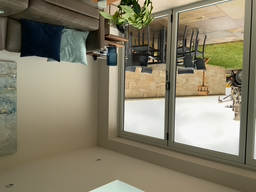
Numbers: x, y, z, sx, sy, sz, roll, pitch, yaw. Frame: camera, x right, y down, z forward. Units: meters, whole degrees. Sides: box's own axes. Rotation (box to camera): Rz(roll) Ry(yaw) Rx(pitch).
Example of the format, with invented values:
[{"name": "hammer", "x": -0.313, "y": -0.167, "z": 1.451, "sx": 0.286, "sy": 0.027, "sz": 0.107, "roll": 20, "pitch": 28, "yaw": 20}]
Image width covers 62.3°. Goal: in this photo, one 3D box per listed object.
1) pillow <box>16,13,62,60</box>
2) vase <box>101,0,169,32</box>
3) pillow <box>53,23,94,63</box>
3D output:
[{"name": "pillow", "x": -1.100, "y": -0.740, "z": 2.640, "sx": 0.260, "sy": 0.490, "sz": 0.340, "roll": 3, "pitch": -159, "yaw": 45}, {"name": "vase", "x": 0.050, "y": -0.720, "z": 1.440, "sx": 0.330, "sy": 0.440, "sz": 0.320, "roll": -1, "pitch": -176, "yaw": -41}, {"name": "pillow", "x": -0.760, "y": -0.720, "z": 2.970, "sx": 0.400, "sy": 0.440, "sz": 0.400, "roll": 5, "pitch": -176, "yaw": 44}]
